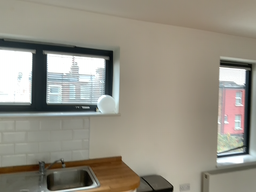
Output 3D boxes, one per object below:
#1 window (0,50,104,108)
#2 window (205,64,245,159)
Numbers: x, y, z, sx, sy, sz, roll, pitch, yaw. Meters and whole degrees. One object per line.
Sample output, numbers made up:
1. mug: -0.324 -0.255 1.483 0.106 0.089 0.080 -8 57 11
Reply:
1. window: -0.960 -0.160 2.230 1.400 0.560 0.160 1 1 -22
2. window: 1.470 0.230 3.190 0.680 1.370 0.050 1 1 -21
